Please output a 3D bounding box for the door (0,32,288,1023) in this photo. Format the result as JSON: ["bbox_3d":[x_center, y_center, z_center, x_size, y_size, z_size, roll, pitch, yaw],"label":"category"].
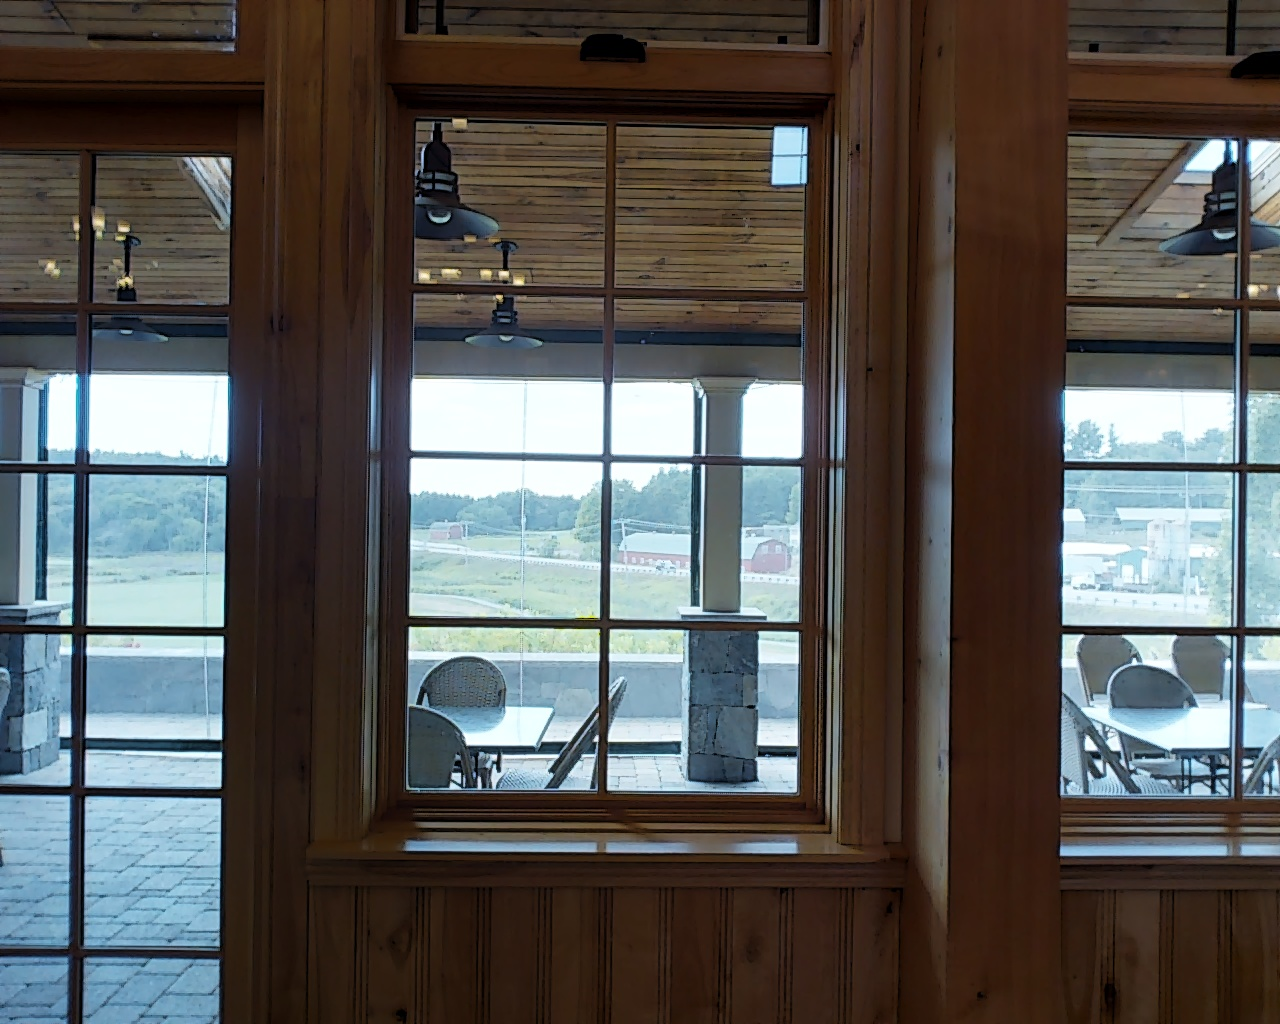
[{"bbox_3d":[-1.590,0.230,2.240,1.630,2.430,0.120,1,0,-2],"label":"door"}]
